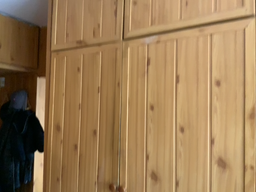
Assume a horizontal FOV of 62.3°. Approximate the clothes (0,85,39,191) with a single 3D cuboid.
[{"bbox_3d":[-1.450,0.650,2.480,0.680,1.500,0.400,0,-3,37],"label":"clothes"}]
